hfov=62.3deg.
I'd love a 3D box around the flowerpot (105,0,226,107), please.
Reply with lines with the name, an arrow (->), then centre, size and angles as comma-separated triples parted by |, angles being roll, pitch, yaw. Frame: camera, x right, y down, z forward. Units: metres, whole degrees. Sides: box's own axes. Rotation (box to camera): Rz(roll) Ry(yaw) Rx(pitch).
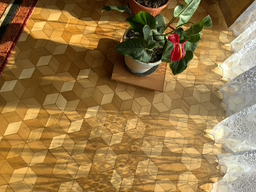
flowerpot -> 0.170, -0.270, 1.160 | 0.380, 0.440, 0.440 | 31, 70, 0
